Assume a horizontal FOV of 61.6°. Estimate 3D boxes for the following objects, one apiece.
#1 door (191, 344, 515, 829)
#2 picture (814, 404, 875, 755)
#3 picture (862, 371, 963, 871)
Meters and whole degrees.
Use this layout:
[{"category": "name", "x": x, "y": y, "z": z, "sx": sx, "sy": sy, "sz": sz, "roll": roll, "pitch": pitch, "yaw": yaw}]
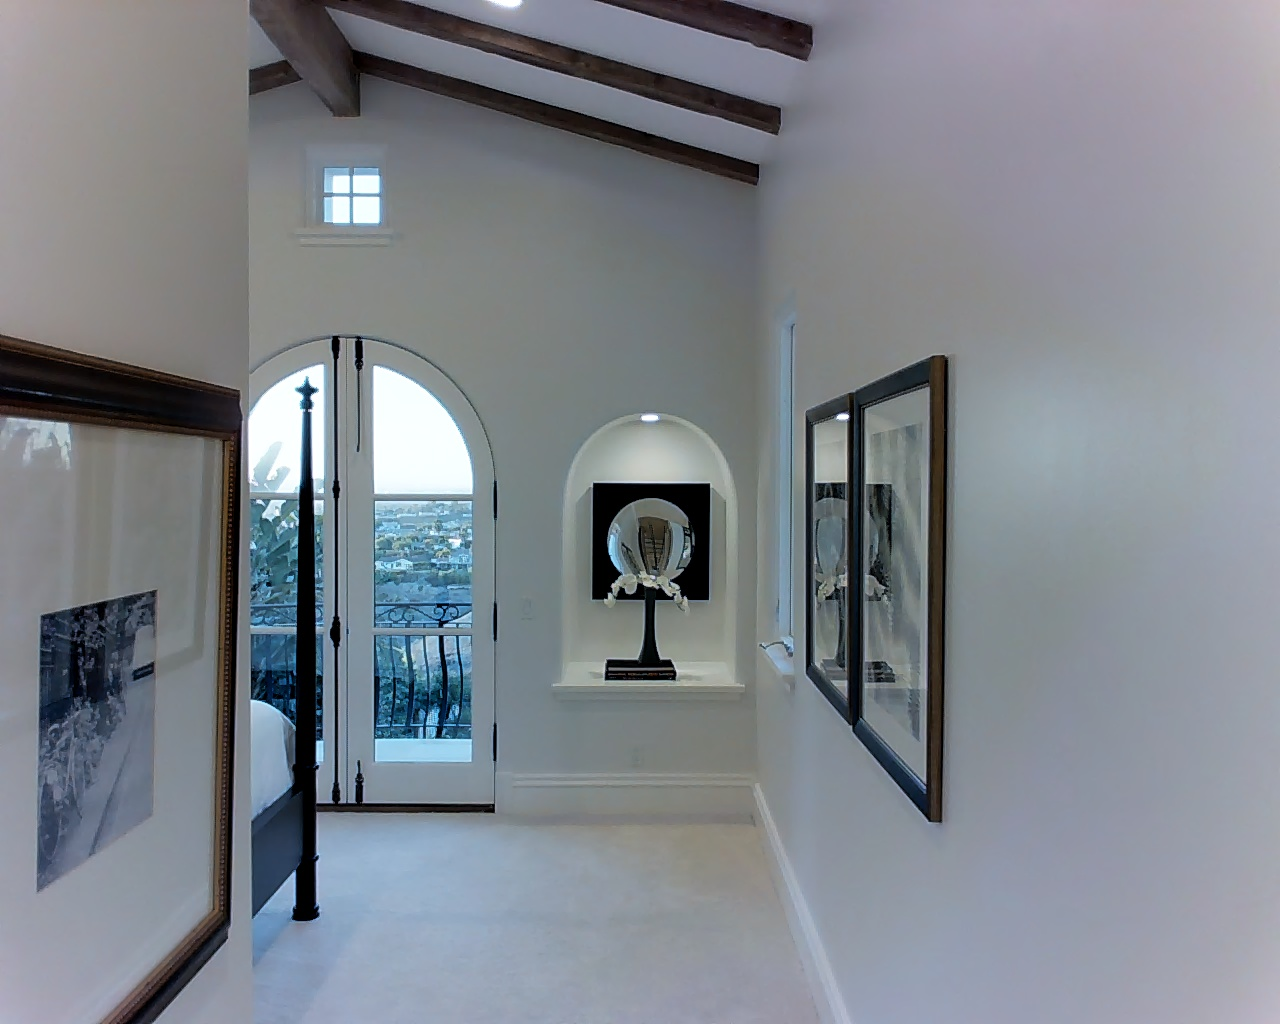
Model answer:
[{"category": "door", "x": -1.480, "y": 0.390, "z": 5.580, "sx": 1.619, "sy": 2.491, "sz": 0.140, "roll": 0, "pitch": 2, "yaw": 1}, {"category": "picture", "x": 0.610, "y": 0.170, "z": 3.260, "sx": 0.040, "sy": 0.940, "sz": 0.790, "roll": 0, "pitch": 2, "yaw": 1}, {"category": "picture", "x": 0.600, "y": 0.200, "z": 2.440, "sx": 0.040, "sy": 0.960, "sz": 0.770, "roll": 0, "pitch": 2, "yaw": 1}]
